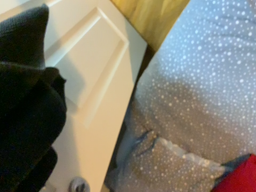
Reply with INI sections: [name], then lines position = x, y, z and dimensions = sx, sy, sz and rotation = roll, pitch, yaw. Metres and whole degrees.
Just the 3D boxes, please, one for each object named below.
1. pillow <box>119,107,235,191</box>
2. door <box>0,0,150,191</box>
[pillow]
position = 0.200, 0.350, 0.940
dimensions = 0.540, 0.430, 0.190
rotation = -94, 22, -45
[door]
position = -0.370, 0.040, 0.270
dimensions = 0.040, 0.800, 1.930
rotation = -33, 22, 33
